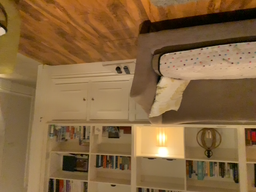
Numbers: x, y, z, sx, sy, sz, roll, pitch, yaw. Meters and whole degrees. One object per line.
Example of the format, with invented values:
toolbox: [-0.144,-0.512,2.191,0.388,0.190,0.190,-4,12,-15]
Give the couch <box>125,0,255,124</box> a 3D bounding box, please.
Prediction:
couch: [1.010,-0.190,1.940,1.830,0.860,1.030,-2,171,17]
